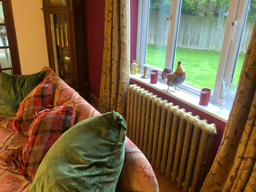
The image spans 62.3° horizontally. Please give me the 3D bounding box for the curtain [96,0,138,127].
[{"bbox_3d":[-0.150,-0.690,2.420,0.260,2.100,0.430,-12,26,-34],"label":"curtain"}]

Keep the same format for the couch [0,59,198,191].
[{"bbox_3d":[-0.890,0.390,1.790,1.120,0.820,2.620,-11,25,-31],"label":"couch"}]
